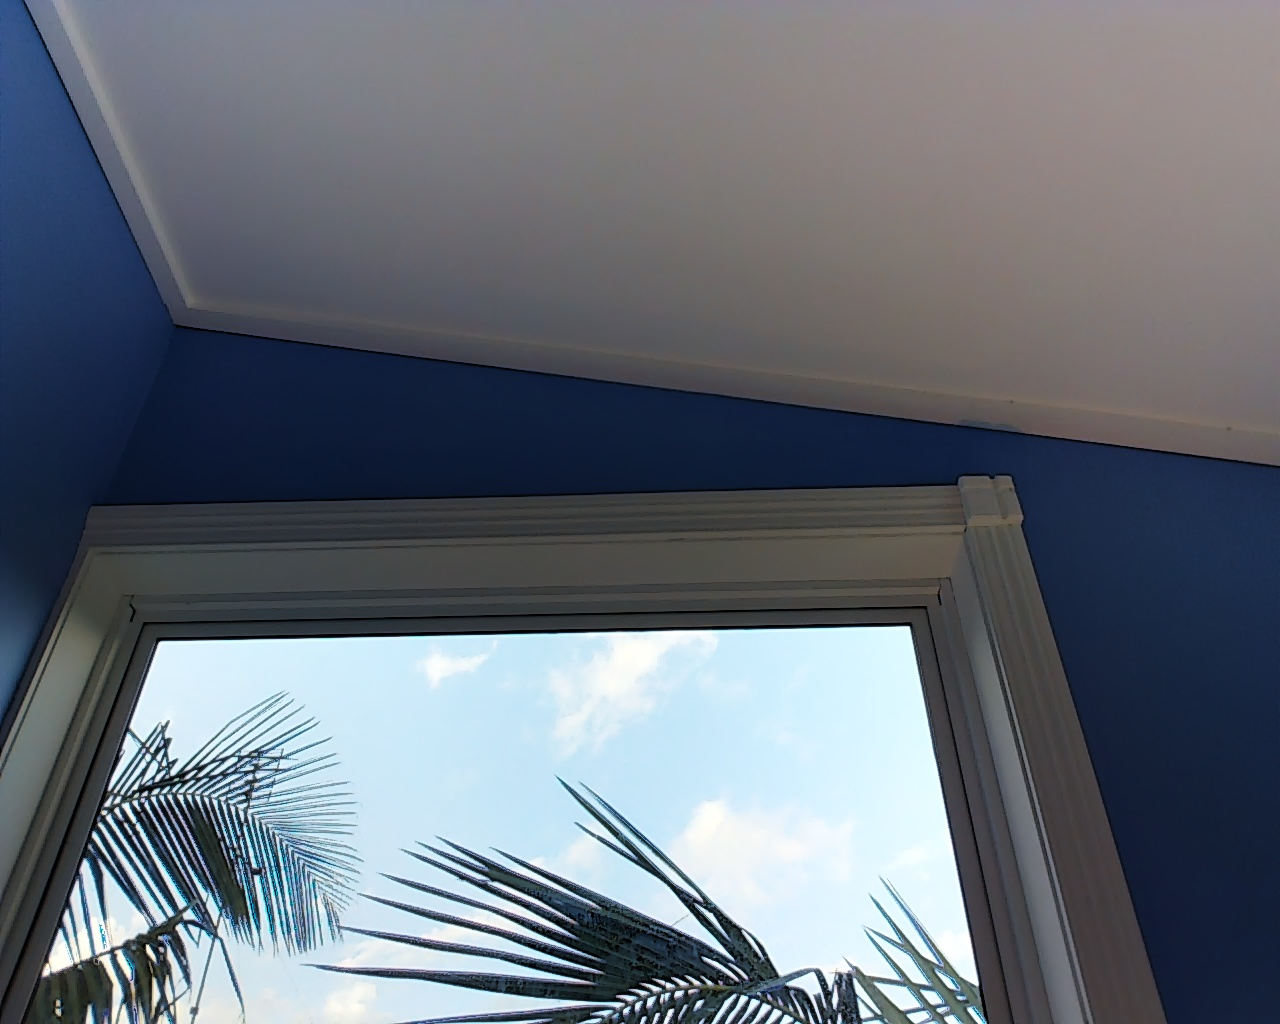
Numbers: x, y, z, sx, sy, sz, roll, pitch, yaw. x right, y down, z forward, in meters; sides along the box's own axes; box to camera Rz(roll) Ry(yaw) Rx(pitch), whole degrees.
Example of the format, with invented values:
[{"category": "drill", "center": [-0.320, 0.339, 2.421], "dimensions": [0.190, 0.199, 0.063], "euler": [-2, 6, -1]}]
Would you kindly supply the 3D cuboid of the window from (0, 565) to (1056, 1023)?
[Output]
[{"category": "window", "center": [-0.150, 0.580, 1.150], "dimensions": [1.169, 1.260, 0.060], "euler": [-1, -41, 2]}]
